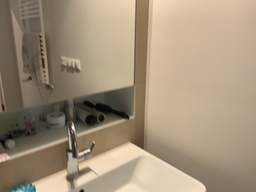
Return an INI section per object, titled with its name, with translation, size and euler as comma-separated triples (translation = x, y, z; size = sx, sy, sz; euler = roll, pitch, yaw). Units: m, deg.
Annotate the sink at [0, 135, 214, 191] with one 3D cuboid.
[sink]
translation = -0.110, 0.410, 0.790
size = 0.780, 0.140, 0.480
euler = -14, 22, -39
